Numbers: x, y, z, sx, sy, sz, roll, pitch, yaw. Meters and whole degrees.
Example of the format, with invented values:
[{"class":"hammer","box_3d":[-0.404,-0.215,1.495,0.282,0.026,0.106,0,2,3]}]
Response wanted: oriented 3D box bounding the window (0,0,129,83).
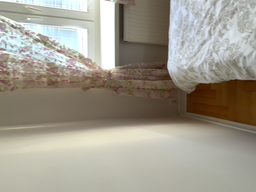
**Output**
[{"class":"window","box_3d":[-0.860,-0.860,1.690,0.330,1.750,1.500,-171,81,-67]}]
